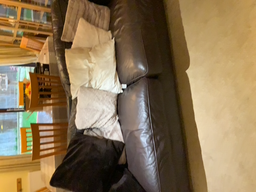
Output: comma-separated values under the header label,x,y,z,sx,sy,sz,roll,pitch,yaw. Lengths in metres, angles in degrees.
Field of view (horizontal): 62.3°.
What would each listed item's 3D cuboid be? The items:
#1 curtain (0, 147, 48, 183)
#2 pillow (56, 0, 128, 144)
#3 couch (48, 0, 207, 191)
label,x,y,z,sx,sy,sz,roll,pitch,yaw
curtain,-2.450,1.380,4.090,0.190,1.660,0.530,-21,73,56
pillow,-0.360,-0.260,1.860,0.550,0.310,1.280,-25,70,56
couch,-0.120,-0.060,1.890,0.990,0.810,2.160,-20,74,57
